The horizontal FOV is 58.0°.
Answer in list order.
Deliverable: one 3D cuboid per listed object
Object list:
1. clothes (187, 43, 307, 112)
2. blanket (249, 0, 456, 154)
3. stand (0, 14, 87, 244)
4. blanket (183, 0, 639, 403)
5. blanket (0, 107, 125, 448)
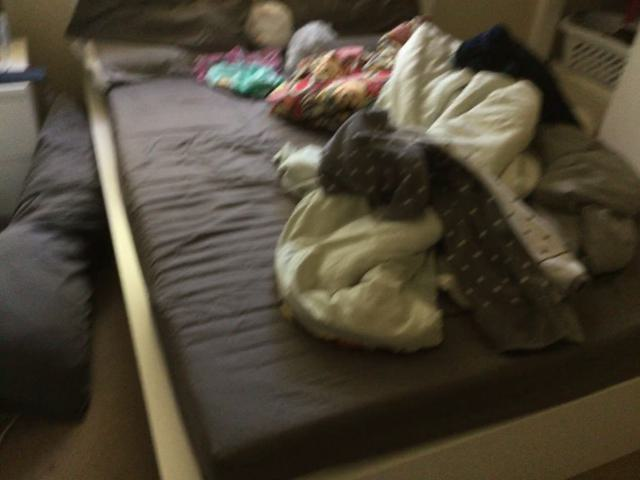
[{"bbox_3d":[-0.280,-0.620,2.170,0.360,0.080,0.380,-11,39,-17],"label":"clothes"},{"bbox_3d":[0.080,-0.580,1.950,0.510,0.310,0.500,-11,39,-17],"label":"blanket"},{"bbox_3d":[-1.220,-0.410,2.140,0.520,0.630,0.580,-11,39,-17],"label":"stand"},{"bbox_3d":[0.340,-0.300,1.620,1.190,0.310,1.270,-11,39,-17],"label":"blanket"},{"bbox_3d":[-0.840,0.030,1.760,0.360,0.430,1.060,-7,38,-11],"label":"blanket"}]
